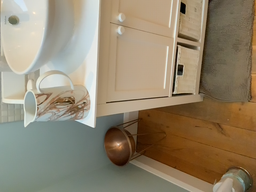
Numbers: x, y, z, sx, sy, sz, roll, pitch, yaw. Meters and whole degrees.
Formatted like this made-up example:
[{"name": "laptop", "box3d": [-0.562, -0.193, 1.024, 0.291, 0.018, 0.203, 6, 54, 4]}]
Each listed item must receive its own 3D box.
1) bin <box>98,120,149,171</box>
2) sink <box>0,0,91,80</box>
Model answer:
[{"name": "bin", "box3d": [-0.030, 0.350, 1.590, 0.200, 0.330, 0.260, 12, 102, 42]}, {"name": "sink", "box3d": [-0.330, -0.280, 0.780, 0.450, 0.140, 0.400, 11, 102, 43]}]
